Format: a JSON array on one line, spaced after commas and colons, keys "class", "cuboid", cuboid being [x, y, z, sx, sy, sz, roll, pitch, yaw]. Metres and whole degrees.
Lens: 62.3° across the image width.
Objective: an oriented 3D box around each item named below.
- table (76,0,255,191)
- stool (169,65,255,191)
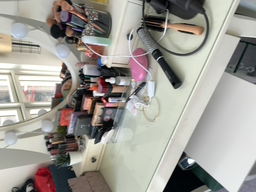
[{"class": "table", "cuboid": [0.260, 0.080, 1.090, 0.540, 0.730, 1.020, 46, 126, 45]}, {"class": "stool", "cuboid": [0.520, 0.130, 0.950, 0.320, 0.460, 0.410, 42, 124, 46]}]
